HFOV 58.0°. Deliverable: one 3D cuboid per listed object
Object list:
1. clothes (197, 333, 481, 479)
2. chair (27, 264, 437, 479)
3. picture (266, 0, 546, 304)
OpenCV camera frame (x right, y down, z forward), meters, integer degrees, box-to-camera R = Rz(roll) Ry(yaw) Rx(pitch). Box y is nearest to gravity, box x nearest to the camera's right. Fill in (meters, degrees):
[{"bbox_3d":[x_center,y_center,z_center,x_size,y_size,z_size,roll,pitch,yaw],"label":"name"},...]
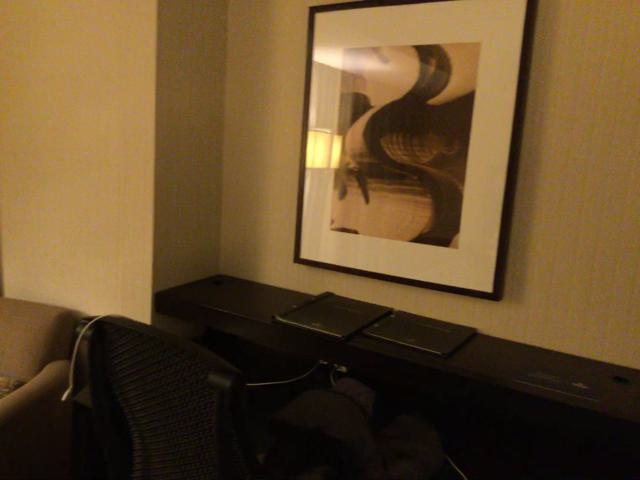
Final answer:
[{"bbox_3d":[0.080,0.400,1.230,0.350,0.210,0.610,7,8,29],"label":"clothes"},{"bbox_3d":[-0.190,0.670,1.410,0.670,1.070,0.670,7,8,29],"label":"chair"},{"bbox_3d":[0.200,-0.280,1.610,0.720,0.790,0.130,7,8,29],"label":"picture"}]
